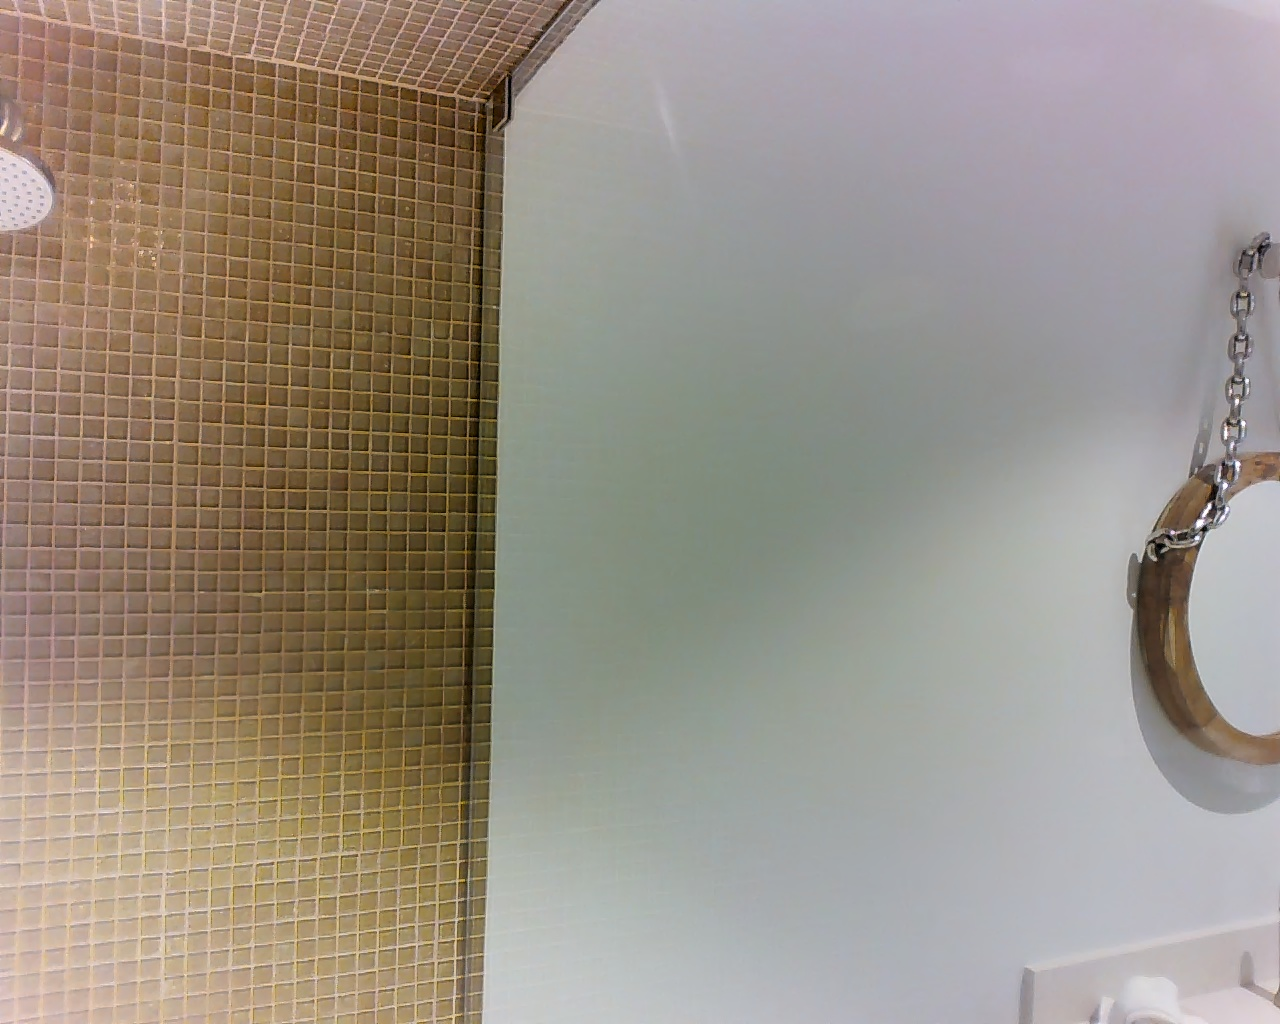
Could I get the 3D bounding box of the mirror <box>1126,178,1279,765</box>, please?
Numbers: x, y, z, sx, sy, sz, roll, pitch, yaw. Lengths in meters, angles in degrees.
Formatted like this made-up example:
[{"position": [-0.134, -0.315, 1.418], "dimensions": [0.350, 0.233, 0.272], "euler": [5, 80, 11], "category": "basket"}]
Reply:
[{"position": [1.120, -0.060, 1.930], "dimensions": [0.540, 0.970, 0.100], "euler": [2, -1, -24], "category": "mirror"}]
